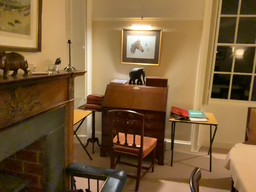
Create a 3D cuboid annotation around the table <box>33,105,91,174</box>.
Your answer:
[{"bbox_3d":[-0.860,0.550,2.910,0.510,0.680,0.630,4,12,11],"label":"table"}]

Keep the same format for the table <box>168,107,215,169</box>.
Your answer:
[{"bbox_3d":[0.890,0.570,3.060,0.530,0.700,0.460,5,11,13],"label":"table"}]

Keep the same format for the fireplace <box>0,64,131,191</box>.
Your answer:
[{"bbox_3d":[-0.830,0.510,1.440,1.380,1.320,1.580,4,12,11],"label":"fireplace"}]

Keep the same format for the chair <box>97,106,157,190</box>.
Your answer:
[{"bbox_3d":[0.000,0.590,2.620,0.570,0.790,0.540,5,12,17],"label":"chair"}]
